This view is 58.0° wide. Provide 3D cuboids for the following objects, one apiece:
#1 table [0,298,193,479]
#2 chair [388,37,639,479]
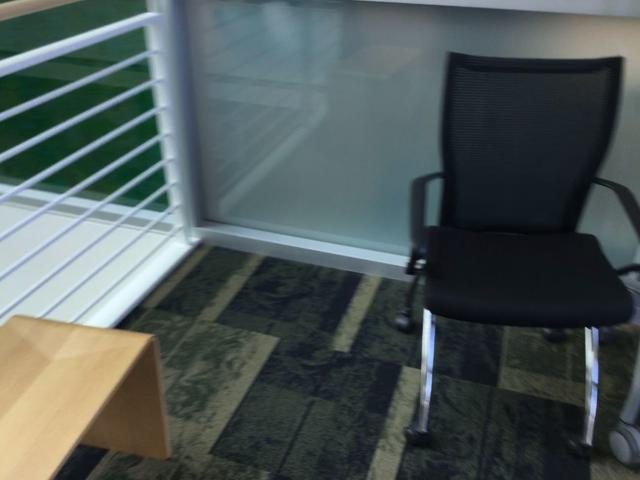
[{"bbox_3d":[-0.620,0.520,1.200,0.380,0.450,0.700,4,29,13],"label":"table"},{"bbox_3d":[0.580,0.000,1.560,0.660,0.940,0.670,6,29,16],"label":"chair"}]
